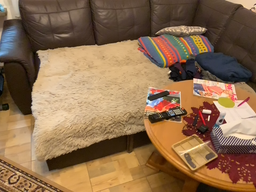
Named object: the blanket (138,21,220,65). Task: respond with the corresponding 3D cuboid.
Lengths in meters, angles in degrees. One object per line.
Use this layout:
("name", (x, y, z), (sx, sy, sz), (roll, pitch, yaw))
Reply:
("blanket", (0.530, -0.610, 2.330), (0.640, 0.190, 0.580), (-13, 41, -21))

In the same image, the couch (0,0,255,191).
("couch", (0.110, -0.400, 2.150), (2.550, 0.930, 1.650), (-11, 40, -19))

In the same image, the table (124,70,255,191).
("table", (0.520, 0.360, 1.410), (0.820, 0.630, 0.800), (-12, 41, -20))
